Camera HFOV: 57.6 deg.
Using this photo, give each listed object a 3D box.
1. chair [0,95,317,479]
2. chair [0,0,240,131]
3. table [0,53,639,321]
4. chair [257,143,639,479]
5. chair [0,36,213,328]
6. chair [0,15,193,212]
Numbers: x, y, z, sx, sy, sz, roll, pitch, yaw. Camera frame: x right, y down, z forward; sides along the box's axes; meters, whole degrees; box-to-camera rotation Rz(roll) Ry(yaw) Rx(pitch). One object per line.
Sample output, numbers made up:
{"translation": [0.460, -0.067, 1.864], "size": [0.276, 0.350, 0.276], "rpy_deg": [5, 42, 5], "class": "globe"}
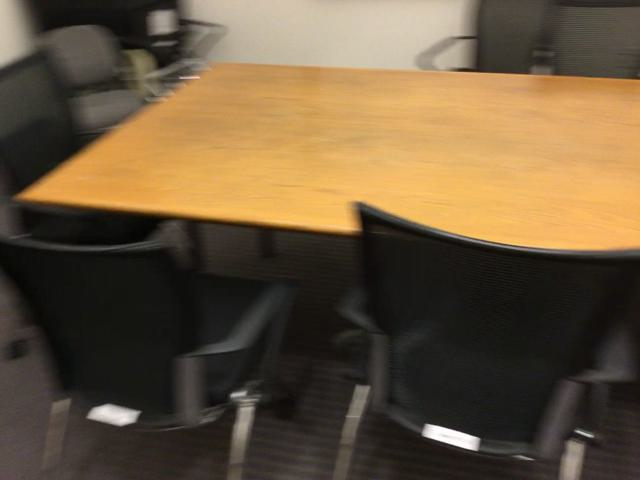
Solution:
{"translation": [-0.380, 0.130, 1.260], "size": [0.540, 0.680, 0.630], "rpy_deg": [5, 34, 16], "class": "chair"}
{"translation": [-1.160, -1.220, 3.470], "size": [1.070, 0.910, 0.630], "rpy_deg": [5, 34, 16], "class": "chair"}
{"translation": [0.530, -0.270, 1.610], "size": [2.450, 0.130, 1.270], "rpy_deg": [5, 34, 16], "class": "table"}
{"translation": [0.280, 0.240, 1.060], "size": [0.580, 0.680, 0.440], "rpy_deg": [5, 34, 16], "class": "chair"}
{"translation": [-0.750, -0.210, 1.820], "size": [0.510, 0.680, 0.590], "rpy_deg": [5, 34, 16], "class": "chair"}
{"translation": [-1.160, -0.670, 2.990], "size": [0.620, 0.760, 0.690], "rpy_deg": [5, 34, 16], "class": "chair"}
